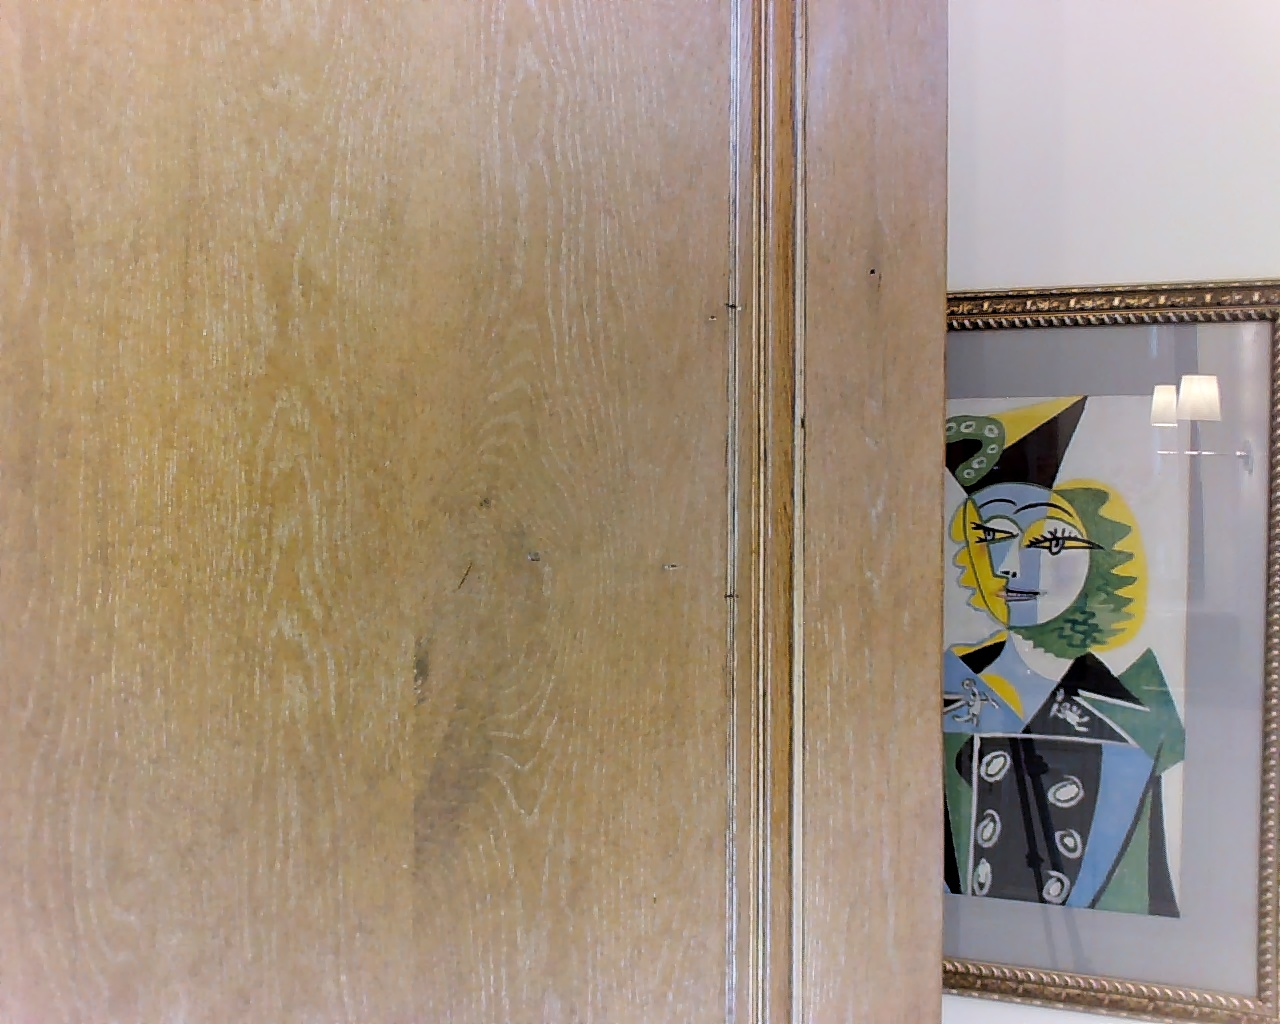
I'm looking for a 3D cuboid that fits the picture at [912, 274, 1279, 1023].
[{"bbox_3d":[0.590,0.160,1.350,0.460,0.890,0.040,1,1,19],"label":"picture"}]

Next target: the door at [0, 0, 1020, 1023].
[{"bbox_3d":[-0.170,0.390,0.770,0.940,2.491,0.030,1,1,-14],"label":"door"}]
